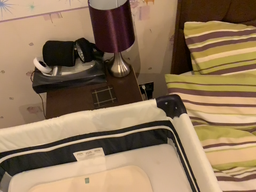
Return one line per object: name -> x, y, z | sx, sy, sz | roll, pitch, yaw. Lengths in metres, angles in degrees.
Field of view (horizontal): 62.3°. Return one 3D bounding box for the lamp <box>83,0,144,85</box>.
lamp -> -0.050, -0.230, 0.880 | 0.200, 0.310, 0.180 | -9, 51, -2
